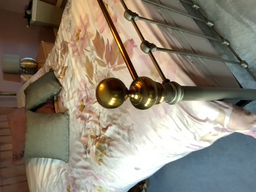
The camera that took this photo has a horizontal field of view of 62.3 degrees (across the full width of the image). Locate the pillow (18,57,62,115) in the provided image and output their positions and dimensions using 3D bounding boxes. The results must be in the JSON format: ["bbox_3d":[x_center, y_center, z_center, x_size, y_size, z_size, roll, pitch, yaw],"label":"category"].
[{"bbox_3d":[-0.870,-0.090,2.060,0.350,0.260,0.420,-51,51,37],"label":"pillow"}]

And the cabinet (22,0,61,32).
[{"bbox_3d":[-1.470,-1.400,3.620,0.250,0.570,0.430,1,90,52],"label":"cabinet"}]

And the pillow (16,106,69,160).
[{"bbox_3d":[-0.710,0.330,1.820,0.170,0.360,0.380,-6,65,17],"label":"pillow"}]

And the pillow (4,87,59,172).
[{"bbox_3d":[-0.950,0.310,2.030,0.560,0.300,0.530,-57,48,33],"label":"pillow"}]
